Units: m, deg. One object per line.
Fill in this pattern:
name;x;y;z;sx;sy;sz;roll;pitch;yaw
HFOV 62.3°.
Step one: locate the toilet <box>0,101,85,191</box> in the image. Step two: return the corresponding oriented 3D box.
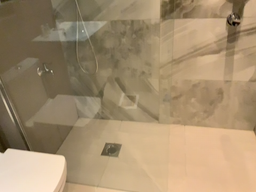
toilet;-0.640;0.460;1.140;0.590;0.760;0.410;3;33;10
